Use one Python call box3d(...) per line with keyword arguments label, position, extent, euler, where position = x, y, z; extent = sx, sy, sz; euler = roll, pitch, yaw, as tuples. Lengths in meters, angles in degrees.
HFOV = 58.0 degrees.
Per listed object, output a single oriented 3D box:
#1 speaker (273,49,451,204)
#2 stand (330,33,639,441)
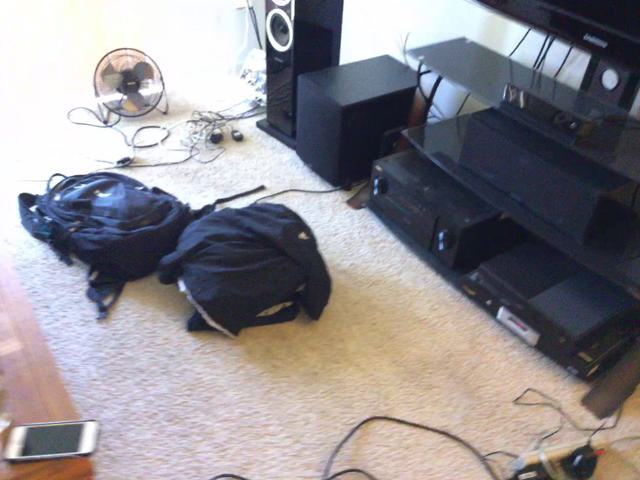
box3d(label="speaker", position=(0.140, -0.460, 2.230), extent=(0.450, 0.400, 0.460), euler=(-16, 38, -31))
box3d(label="stand", position=(0.610, -0.140, 1.750), extent=(0.480, 0.640, 1.230), euler=(-16, 38, -31))
